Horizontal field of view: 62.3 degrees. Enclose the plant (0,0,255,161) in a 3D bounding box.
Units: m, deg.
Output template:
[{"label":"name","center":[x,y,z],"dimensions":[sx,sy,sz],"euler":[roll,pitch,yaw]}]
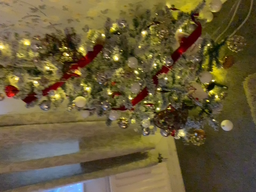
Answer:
[{"label":"plant","center":[-0.230,-0.150,1.260],"dimensions":[0.840,1.890,0.840],"euler":[-35,61,55]}]
